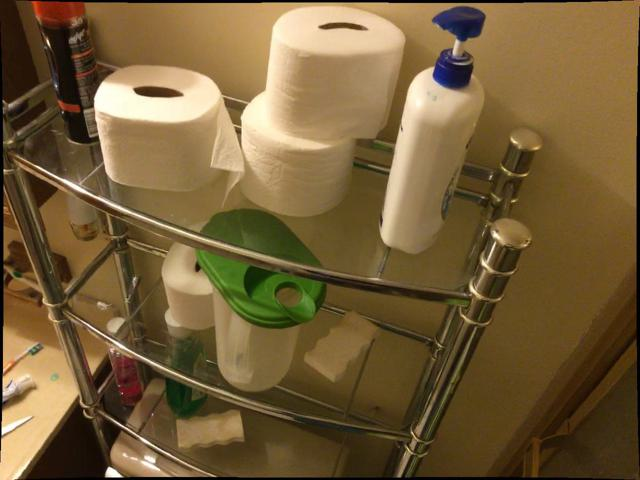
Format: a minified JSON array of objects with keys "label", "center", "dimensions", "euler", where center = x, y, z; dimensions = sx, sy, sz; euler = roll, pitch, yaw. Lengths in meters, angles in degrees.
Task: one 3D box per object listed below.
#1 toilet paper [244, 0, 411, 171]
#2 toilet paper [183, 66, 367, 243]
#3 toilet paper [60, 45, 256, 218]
[{"label":"toilet paper","center":[0.010,-0.190,0.660],"dimensions":[0.140,0.130,0.150],"euler":[15,45,11]},{"label":"toilet paper","center":[-0.050,-0.110,0.710],"dimensions":[0.170,0.120,0.150],"euler":[15,45,11]},{"label":"toilet paper","center":[-0.190,-0.140,0.720],"dimensions":[0.170,0.120,0.150],"euler":[15,45,11]}]
